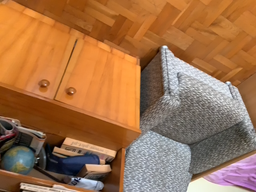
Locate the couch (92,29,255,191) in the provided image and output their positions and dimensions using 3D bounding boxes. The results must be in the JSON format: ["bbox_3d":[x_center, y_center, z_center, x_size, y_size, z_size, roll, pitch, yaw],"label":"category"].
[{"bbox_3d":[0.320,0.290,1.440,0.770,0.940,0.810,23,133,-22],"label":"couch"}]
